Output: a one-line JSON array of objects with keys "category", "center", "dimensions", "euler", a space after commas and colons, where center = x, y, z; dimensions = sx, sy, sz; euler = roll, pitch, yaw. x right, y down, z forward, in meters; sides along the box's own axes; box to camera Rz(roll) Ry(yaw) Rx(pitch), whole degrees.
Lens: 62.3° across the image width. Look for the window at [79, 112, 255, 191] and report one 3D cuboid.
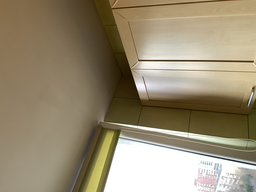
[{"category": "window", "center": [0.390, 0.550, 1.200], "dimensions": [0.180, 1.320, 0.810], "euler": [69, -149, -52]}]
